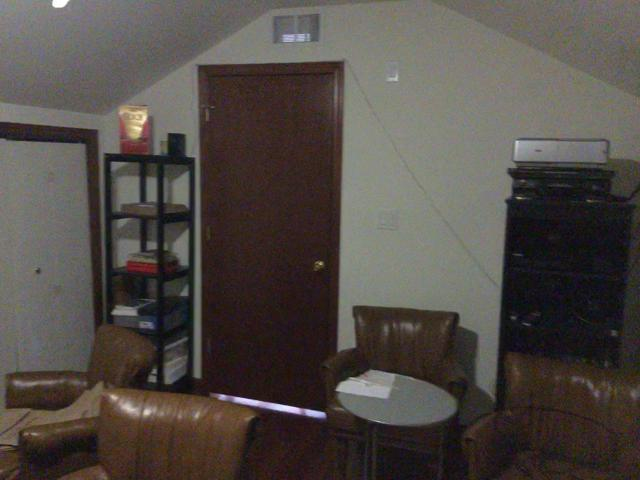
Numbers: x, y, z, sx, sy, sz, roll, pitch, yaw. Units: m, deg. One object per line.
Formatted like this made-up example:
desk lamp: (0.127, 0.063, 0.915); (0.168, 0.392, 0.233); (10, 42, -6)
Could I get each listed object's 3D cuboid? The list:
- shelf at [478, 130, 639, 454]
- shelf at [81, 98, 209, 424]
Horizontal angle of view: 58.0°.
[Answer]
shelf: (1.050, 0.180, 2.530); (0.550, 1.250, 0.490); (6, 7, 19)
shelf: (-1.040, 0.100, 3.440); (0.540, 1.790, 0.450); (6, 7, 19)
